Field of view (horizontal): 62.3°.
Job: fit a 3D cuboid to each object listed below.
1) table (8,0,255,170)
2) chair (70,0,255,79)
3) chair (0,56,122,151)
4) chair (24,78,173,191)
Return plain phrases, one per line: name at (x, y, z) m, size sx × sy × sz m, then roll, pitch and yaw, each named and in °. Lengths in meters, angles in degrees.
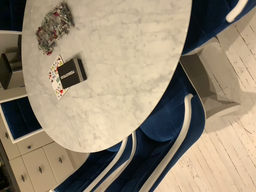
table at (-0.110, -0.310, 1.460) m, size 1.680 × 0.730 × 1.120 m, roll -36°, pitch 78°, yaw 47°
chair at (0.300, -0.520, 0.840) m, size 0.610 × 0.890 × 0.530 m, roll -33°, pitch 80°, yaw 47°
chair at (-0.650, 0.050, 2.030) m, size 0.570 × 0.910 × 0.540 m, roll -28°, pitch 84°, yaw 48°
chair at (-0.180, 0.290, 1.630) m, size 0.470 × 0.890 × 0.600 m, roll -14°, pitch 94°, yaw 48°
